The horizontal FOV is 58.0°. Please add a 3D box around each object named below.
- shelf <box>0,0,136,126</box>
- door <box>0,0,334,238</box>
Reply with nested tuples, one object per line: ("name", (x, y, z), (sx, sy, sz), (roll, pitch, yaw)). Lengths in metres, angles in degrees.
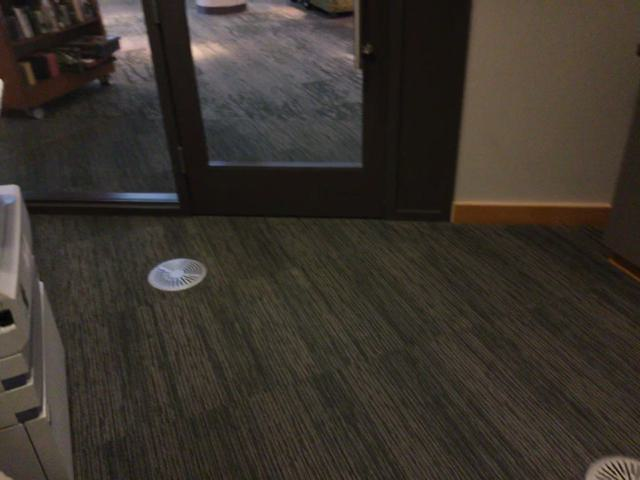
("shelf", (-1.620, -1.270, 3.660), (0.680, 0.870, 0.520), (-11, 33, -15))
("door", (-0.820, -0.750, 2.470), (1.700, 1.360, 0.520), (2, 32, 6))
